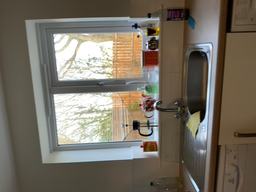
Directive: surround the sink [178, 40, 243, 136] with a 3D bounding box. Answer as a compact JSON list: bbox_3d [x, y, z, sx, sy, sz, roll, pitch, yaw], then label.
[{"bbox_3d":[0.500,-0.090,1.410,0.540,0.170,0.520,-104,13,-77],"label":"sink"}]
